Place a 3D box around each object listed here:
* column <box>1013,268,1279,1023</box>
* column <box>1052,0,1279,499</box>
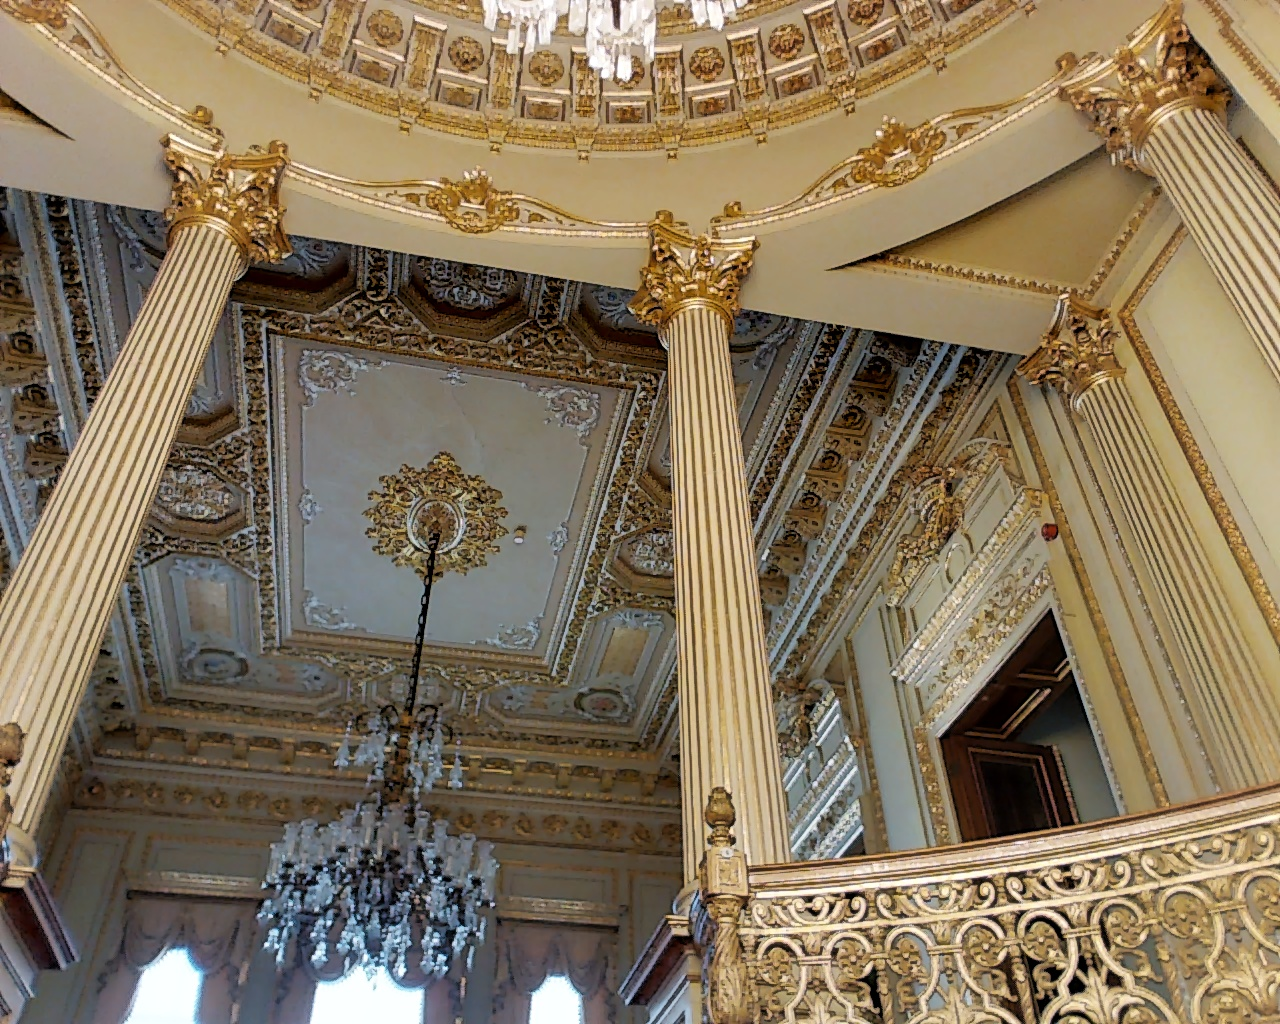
[{"bbox_3d":[2.528,0.650,4.780,0.370,4.712,0.700,8,-42,-9],"label":"column"},{"bbox_3d":[2.558,-0.450,3.670,0.840,4.532,0.780,-33,-51,32],"label":"column"}]
